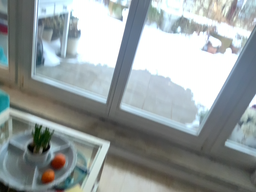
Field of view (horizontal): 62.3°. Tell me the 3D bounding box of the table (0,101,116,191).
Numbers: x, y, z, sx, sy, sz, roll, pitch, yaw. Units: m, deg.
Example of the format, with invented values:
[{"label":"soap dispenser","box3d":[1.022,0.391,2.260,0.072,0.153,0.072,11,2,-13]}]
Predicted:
[{"label":"table","box3d":[-0.550,0.480,1.160,0.740,0.380,0.750,19,29,3]}]
